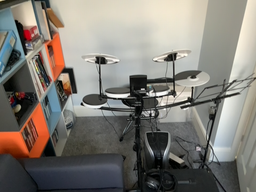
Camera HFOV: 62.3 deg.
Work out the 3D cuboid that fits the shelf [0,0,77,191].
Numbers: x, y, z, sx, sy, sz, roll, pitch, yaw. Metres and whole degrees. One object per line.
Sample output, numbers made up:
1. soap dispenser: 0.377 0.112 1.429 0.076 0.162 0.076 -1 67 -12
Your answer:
1. shelf: -0.800 -0.060 1.790 0.300 1.360 1.100 -1 32 1
